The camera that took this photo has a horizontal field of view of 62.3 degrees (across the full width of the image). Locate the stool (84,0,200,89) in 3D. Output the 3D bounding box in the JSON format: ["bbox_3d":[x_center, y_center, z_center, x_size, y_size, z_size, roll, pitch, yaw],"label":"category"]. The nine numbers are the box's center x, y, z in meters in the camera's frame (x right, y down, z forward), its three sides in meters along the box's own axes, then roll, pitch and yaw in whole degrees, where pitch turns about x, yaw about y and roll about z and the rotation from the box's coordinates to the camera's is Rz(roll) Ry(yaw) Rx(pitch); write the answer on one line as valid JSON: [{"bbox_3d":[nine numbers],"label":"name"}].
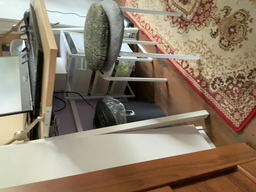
[{"bbox_3d":[0.050,-0.270,1.140,0.330,0.450,0.320,64,143,39],"label":"stool"}]
